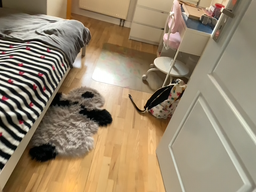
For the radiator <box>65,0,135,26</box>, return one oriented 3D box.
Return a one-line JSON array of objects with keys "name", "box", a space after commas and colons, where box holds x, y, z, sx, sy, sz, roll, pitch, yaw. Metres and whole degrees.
[{"name": "radiator", "box": [-0.430, -1.620, 3.410, 1.070, 0.650, 0.210, 13, 36, -5]}]
